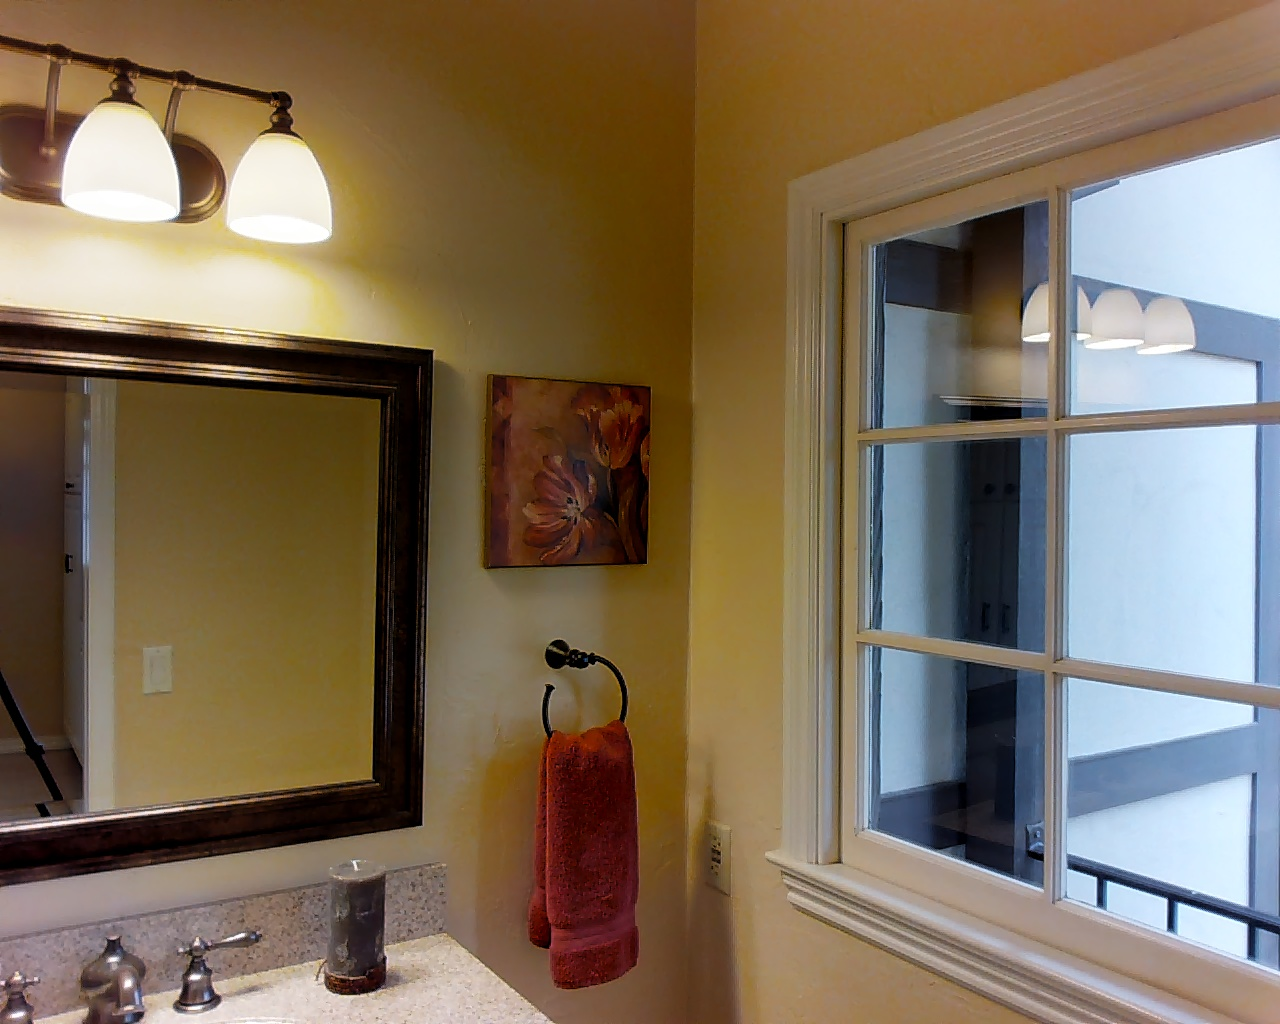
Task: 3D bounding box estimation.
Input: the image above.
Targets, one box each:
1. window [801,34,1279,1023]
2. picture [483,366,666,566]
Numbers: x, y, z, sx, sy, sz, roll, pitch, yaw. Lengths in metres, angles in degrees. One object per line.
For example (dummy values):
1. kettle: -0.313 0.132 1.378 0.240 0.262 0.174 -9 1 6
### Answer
1. window: 0.520 0.050 1.310 0.110 1.040 0.820 0 0 -33
2. picture: -0.100 -0.070 1.760 0.330 0.310 0.020 0 0 -33
